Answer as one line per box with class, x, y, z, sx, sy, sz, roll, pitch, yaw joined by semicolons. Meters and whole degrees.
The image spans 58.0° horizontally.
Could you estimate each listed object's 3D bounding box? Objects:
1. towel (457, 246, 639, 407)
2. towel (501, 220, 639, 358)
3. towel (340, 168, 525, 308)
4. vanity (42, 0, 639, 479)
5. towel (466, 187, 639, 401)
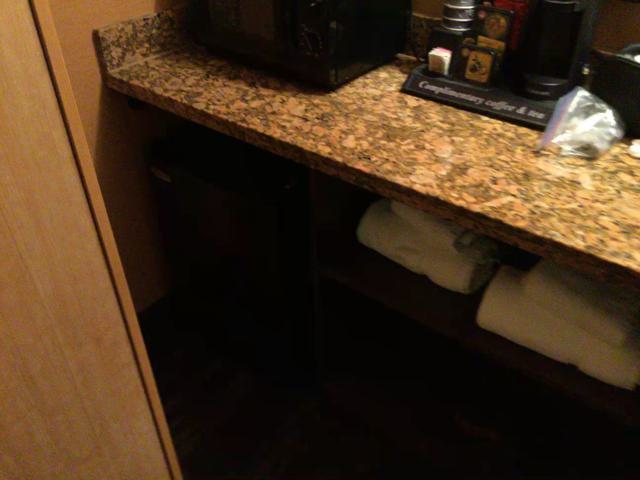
towel;0.460;0.150;1.100;0.340;0.110;0.160;22;38;28
towel;0.490;0.080;1.080;0.220;0.100;0.200;23;38;28
towel;0.250;-0.020;1.310;0.330;0.130;0.230;22;38;28
vanity;0.480;0.170;1.220;2.210;1.000;0.660;22;38;28
towel;0.510;0.080;1.120;0.320;0.180;0.310;22;38;28
